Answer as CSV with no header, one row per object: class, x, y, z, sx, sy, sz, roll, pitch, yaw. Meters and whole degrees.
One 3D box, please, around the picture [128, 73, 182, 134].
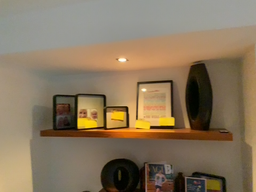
picture,0.230,0.070,1.860,0.350,0.440,0.090,-17,-9,16
